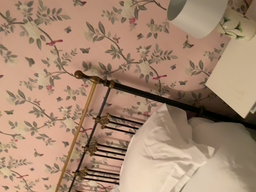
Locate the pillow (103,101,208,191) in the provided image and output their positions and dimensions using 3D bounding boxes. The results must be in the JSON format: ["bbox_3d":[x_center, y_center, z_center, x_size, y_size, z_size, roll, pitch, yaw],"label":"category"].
[{"bbox_3d":[0.100,0.470,1.290,0.370,0.250,0.760,-109,39,-60],"label":"pillow"}]

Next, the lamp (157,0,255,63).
[{"bbox_3d":[0.400,-0.370,1.000,0.230,0.410,0.250,-108,37,-59],"label":"lamp"}]
